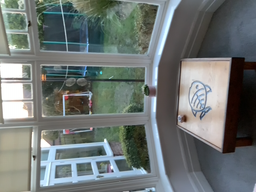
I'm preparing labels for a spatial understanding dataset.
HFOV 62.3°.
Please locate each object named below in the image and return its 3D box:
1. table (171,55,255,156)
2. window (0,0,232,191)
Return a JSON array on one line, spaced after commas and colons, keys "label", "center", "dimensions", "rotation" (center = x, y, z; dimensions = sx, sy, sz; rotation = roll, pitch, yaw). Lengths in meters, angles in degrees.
[{"label": "table", "center": [0.830, 0.020, 2.190], "dimensions": [0.850, 0.350, 0.850], "rotation": [-148, 59, -71]}, {"label": "window", "center": [-0.590, -0.030, 2.010], "dimensions": [1.460, 2.280, 2.960], "rotation": [-147, 58, -70]}]
